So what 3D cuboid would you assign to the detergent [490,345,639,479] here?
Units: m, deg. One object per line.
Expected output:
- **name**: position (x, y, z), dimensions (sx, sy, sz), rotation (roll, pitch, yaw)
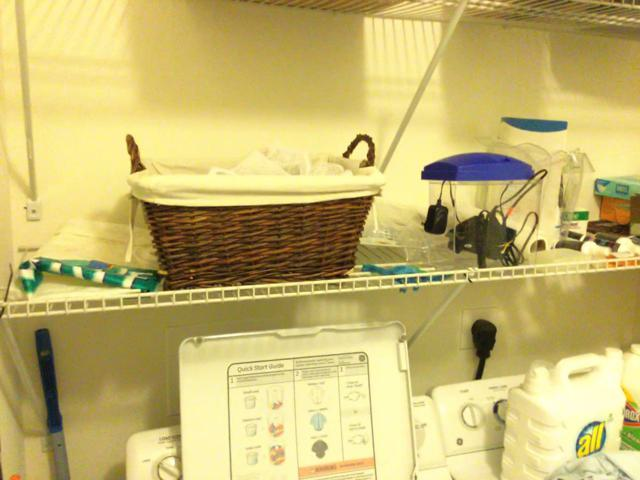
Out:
- **detergent**: position (0.530, 0.390, 1.210), dimensions (0.280, 0.280, 0.150), rotation (-2, 10, -18)
